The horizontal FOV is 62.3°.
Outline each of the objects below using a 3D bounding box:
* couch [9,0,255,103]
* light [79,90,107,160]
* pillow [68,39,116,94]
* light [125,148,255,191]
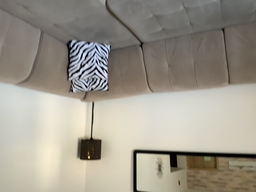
[{"bbox_3d":[0.380,-0.550,1.760,2.620,0.920,1.080,-5,169,28],"label":"couch"},{"bbox_3d":[-0.430,0.360,2.690,0.270,0.830,0.310,-1,170,6],"label":"light"},{"bbox_3d":[-0.370,-0.300,2.110,0.360,0.470,0.190,-11,161,-19],"label":"pillow"},{"bbox_3d":[0.670,0.760,2.010,1.530,0.460,0.070,-5,169,26],"label":"light"}]
